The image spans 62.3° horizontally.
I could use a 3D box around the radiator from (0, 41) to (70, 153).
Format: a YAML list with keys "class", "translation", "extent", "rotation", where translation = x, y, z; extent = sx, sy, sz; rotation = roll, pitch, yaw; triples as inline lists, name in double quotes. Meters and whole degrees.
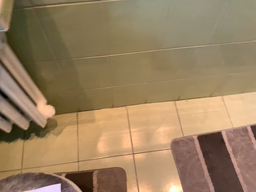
- class: "radiator"
  translation: [-0.660, 0.060, 0.890]
  extent: [0.580, 0.810, 0.160]
  rotation: [-5, 62, 2]
